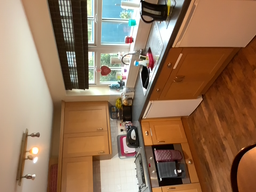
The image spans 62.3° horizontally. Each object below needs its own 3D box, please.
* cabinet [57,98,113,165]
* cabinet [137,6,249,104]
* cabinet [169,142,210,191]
[{"bbox_3d":[-0.750,0.580,3.700,0.350,0.840,1.060,104,161,-54],"label":"cabinet"},{"bbox_3d":[0.710,-0.470,2.770,1.080,0.920,0.650,104,161,-55],"label":"cabinet"},{"bbox_3d":[0.960,1.150,3.430,0.600,0.270,0.600,104,161,-54],"label":"cabinet"}]
